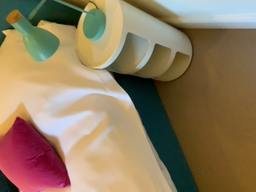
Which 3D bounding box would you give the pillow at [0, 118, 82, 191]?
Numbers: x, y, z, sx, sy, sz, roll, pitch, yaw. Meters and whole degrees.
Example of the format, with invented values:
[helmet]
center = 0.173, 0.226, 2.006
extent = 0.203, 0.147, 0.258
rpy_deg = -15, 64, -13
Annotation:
[pillow]
center = -0.530, 0.350, 1.130
extent = 0.410, 0.420, 0.200
rpy_deg = -28, 95, 8
